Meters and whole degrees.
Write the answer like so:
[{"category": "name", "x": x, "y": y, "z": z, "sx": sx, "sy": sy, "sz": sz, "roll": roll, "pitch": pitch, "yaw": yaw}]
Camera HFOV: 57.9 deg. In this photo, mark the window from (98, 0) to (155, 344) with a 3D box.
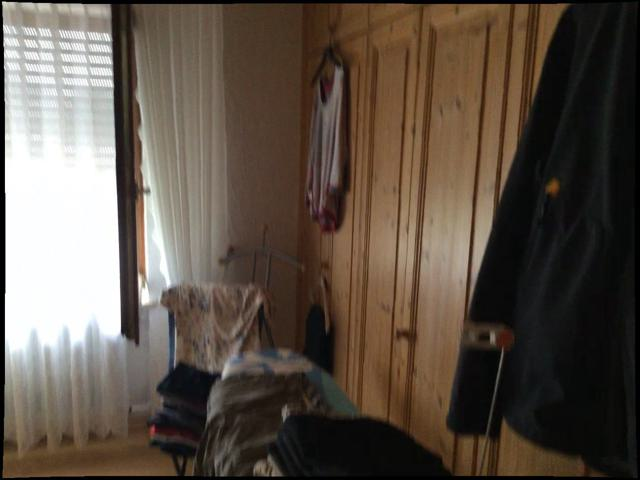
[{"category": "window", "x": -0.779, "y": -0.290, "z": 2.400, "sx": 0.120, "sy": 1.251, "sz": 0.690, "roll": -2, "pitch": 12, "yaw": -15}]
